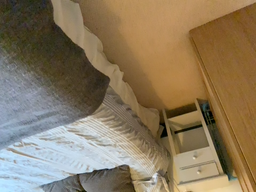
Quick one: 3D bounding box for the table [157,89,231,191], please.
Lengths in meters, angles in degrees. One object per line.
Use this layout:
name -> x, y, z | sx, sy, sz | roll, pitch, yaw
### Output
table -> 0.610, 0.420, 2.060 | 0.430, 0.820, 0.370 | -18, 144, 14
